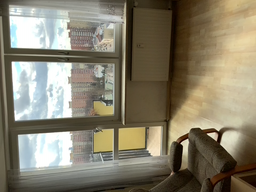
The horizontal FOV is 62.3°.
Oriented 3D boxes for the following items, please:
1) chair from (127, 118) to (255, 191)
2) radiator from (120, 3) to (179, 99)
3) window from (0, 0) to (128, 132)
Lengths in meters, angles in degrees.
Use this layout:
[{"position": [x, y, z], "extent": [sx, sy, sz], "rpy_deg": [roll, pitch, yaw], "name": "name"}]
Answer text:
[{"position": [0.580, 0.800, 2.120], "extent": [0.740, 0.970, 0.850], "rpy_deg": [-121, 33, -62], "name": "chair"}, {"position": [0.310, -0.650, 3.260], "extent": [0.190, 0.810, 1.360], "rpy_deg": [-140, 51, -71], "name": "radiator"}, {"position": [-0.840, -0.460, 3.010], "extent": [0.220, 1.610, 1.870], "rpy_deg": [-138, 48, -70], "name": "window"}]
